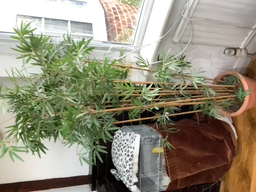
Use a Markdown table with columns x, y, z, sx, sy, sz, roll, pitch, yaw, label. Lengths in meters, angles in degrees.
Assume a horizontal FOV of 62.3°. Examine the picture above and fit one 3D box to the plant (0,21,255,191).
| x | y | z | sx | sy | sz | roll | pitch | yaw | label |
| --- | --- | --- | --- | --- | --- | --- | --- | --- | --- |
| 0.200 | 0.010 | 1.290 | 0.610 | 1.670 | 0.590 | -123 | 38 | -55 | plant |
